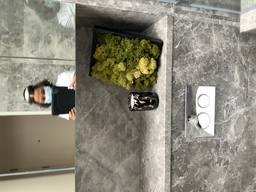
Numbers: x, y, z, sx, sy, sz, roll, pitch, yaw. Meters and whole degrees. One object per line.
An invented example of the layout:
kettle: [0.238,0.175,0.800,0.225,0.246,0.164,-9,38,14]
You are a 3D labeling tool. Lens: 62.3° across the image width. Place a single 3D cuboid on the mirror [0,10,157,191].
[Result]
mirror: [-0.540,0.420,0.780,0.060,1.320,1.440,-166,78,-71]
